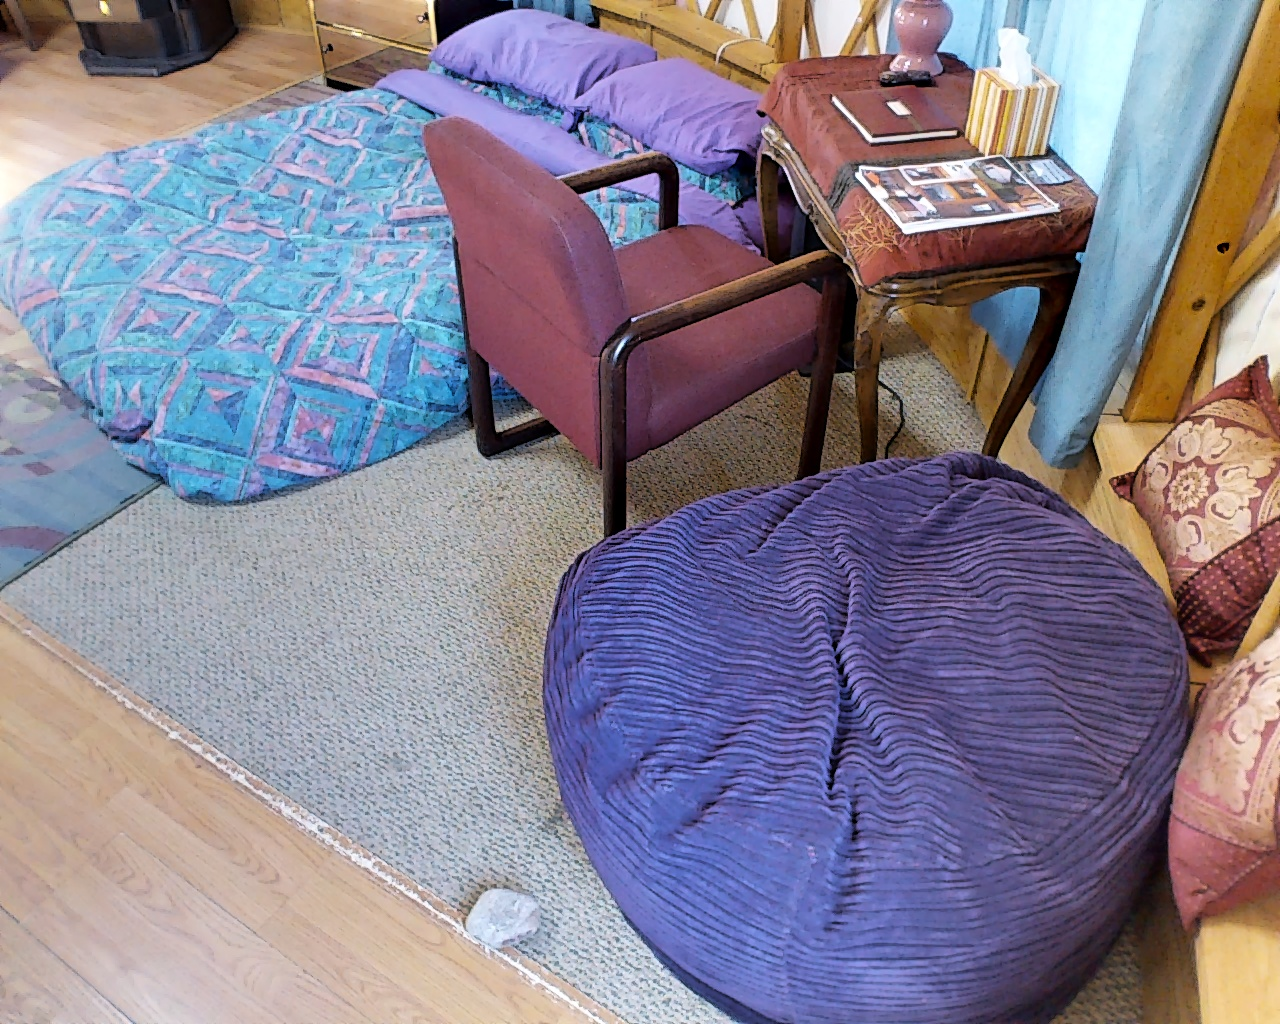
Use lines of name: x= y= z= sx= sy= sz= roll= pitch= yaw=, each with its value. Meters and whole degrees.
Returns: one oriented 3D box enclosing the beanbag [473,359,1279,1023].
beanbag: x=0.340 y=0.310 z=1.630 sx=1.000 sy=0.500 sz=0.980 roll=-10 pitch=42 yaw=-11
